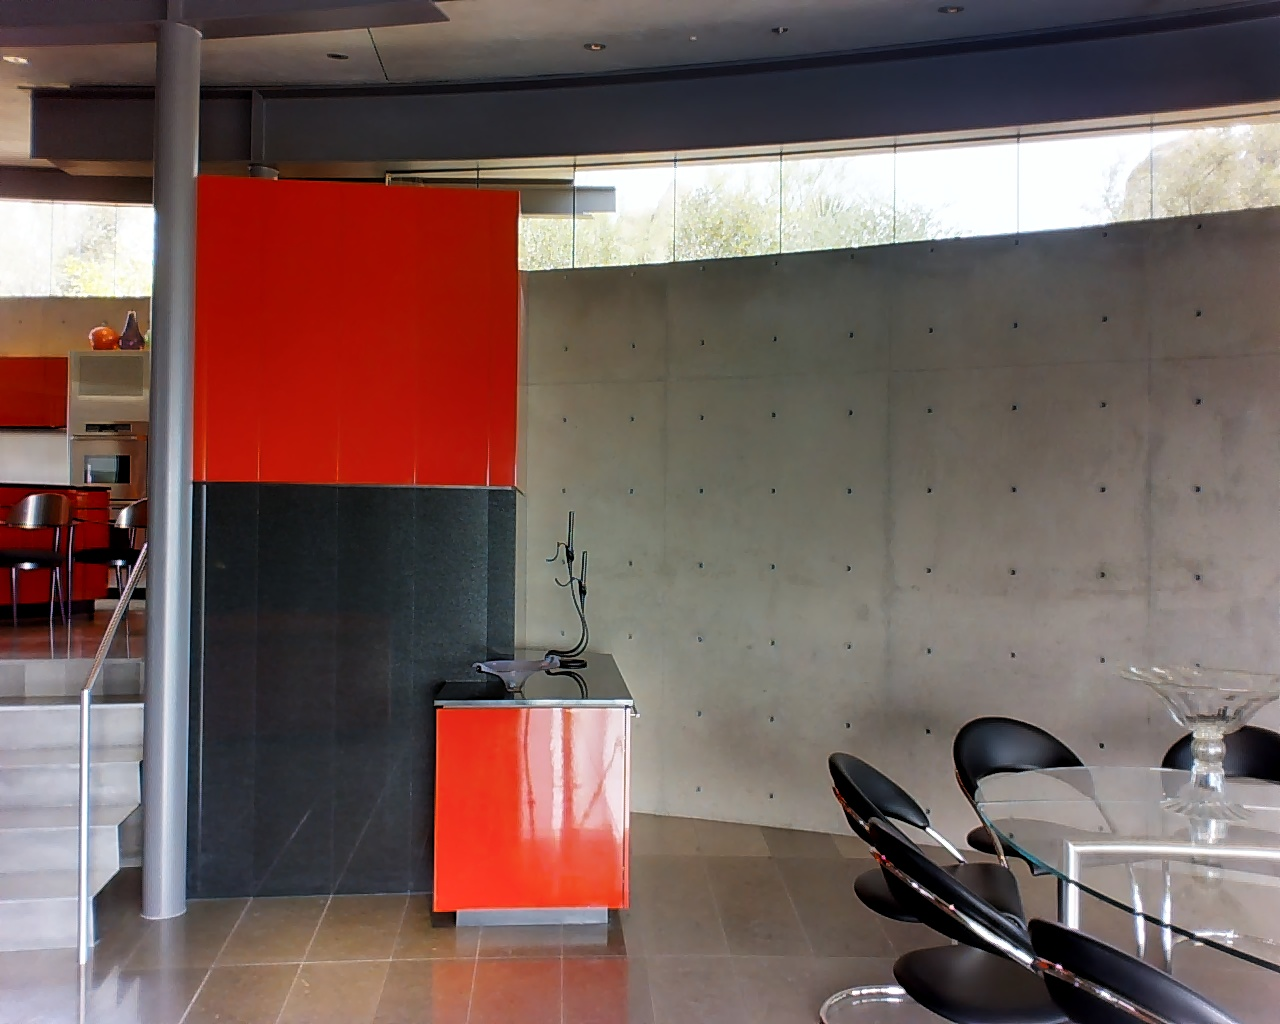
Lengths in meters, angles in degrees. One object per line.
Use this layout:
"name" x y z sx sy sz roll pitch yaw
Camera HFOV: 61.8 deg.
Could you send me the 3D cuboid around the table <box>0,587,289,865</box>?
"table" -2.939 0.910 4.990 1.600 0.910 1.880 1 1 32
